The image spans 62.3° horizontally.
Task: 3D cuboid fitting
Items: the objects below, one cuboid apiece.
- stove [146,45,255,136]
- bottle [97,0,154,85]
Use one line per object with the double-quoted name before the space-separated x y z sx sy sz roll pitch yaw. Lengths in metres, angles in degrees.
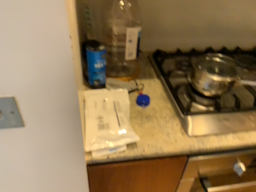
"stove" 0.420 -0.080 0.930 0.570 0.030 0.580 -3 39 -9
"bottle" -0.030 -0.290 0.830 0.160 0.400 0.280 -4 40 -10
